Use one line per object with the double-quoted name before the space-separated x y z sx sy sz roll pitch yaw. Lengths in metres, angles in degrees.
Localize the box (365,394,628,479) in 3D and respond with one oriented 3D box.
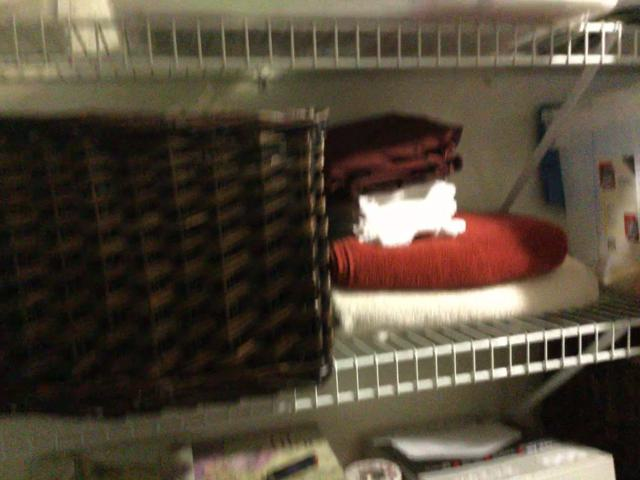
"box" 0.240 0.380 0.870 0.240 0.170 0.330 -4 3 -14
